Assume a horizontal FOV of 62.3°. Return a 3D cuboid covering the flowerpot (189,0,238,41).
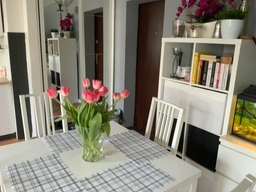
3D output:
[{"bbox_3d":[0.760,-0.760,1.870,0.240,0.520,0.280,-8,17,-35],"label":"flowerpot"}]
